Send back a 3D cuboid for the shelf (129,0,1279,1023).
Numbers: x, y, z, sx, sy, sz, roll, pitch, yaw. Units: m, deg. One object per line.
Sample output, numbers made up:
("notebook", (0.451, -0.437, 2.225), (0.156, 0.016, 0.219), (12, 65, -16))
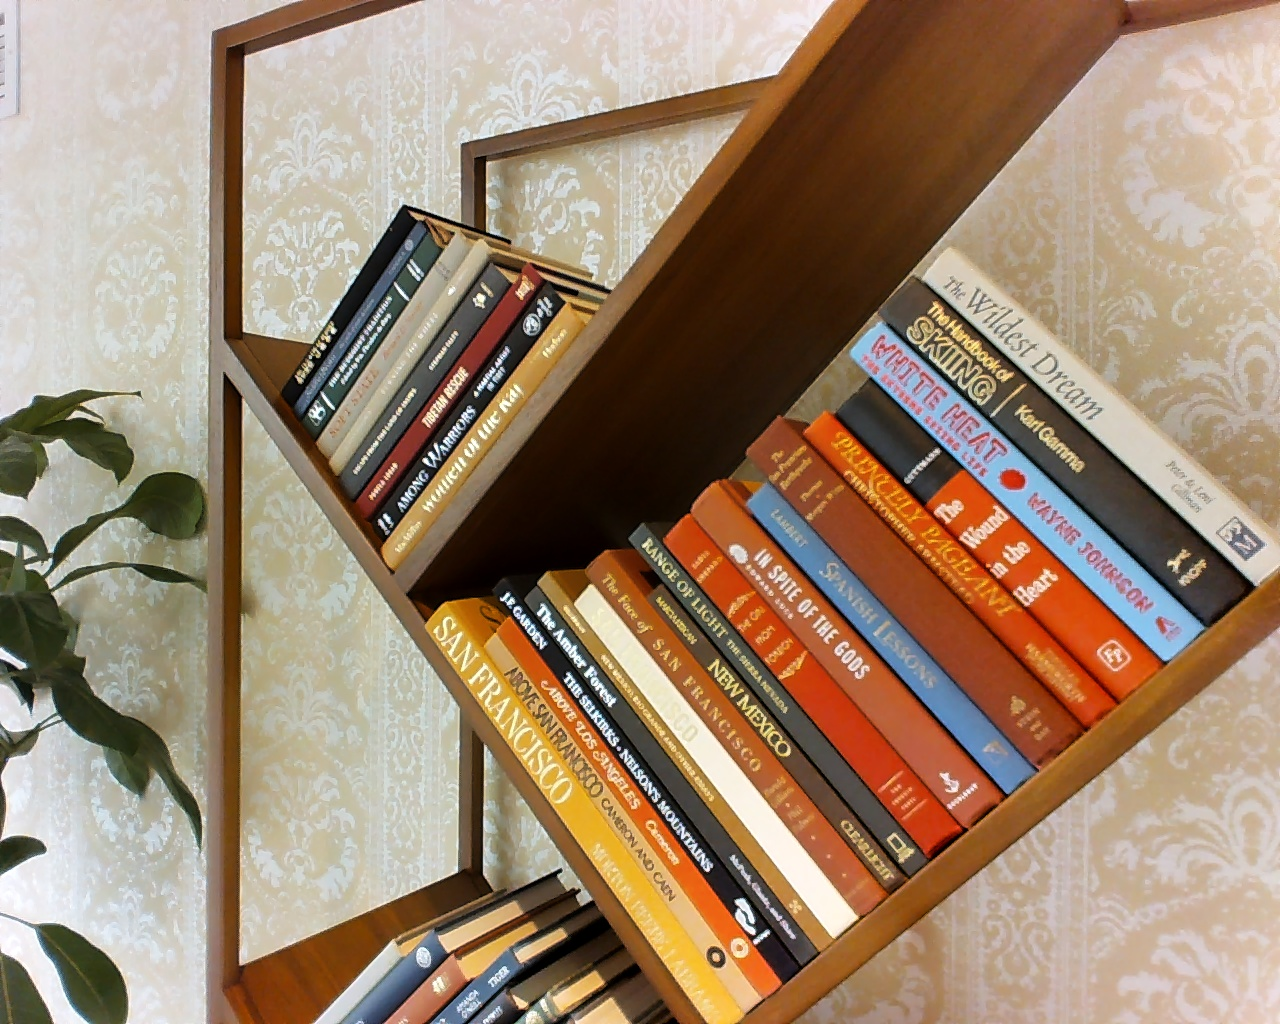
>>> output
("shelf", (0.060, 0.530, 0.840), (0.890, 1.940, 0.400), (1, 1, 30))
